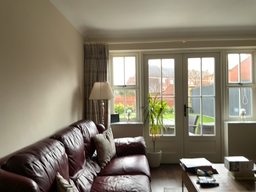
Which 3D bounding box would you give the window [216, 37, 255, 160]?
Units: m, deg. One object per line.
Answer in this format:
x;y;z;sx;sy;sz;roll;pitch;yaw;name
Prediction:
1.970;0.050;3.820;0.700;2.170;0.140;-1;1;-2;window

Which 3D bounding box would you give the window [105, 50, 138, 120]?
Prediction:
-0.120;-0.200;3.940;0.600;1.270;0.060;-1;1;0;window

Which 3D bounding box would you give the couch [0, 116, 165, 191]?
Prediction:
-0.310;0.770;2.090;1.060;0.910;2.180;-1;1;2;couch

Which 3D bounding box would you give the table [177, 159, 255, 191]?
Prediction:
0.860;0.970;1.980;0.600;0.460;1.010;-1;1;2;table
